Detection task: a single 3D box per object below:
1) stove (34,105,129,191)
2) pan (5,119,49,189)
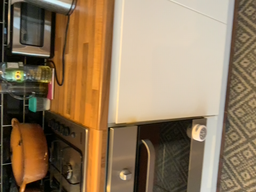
[{"bbox_3d":[-0.260,0.370,1.020,0.540,0.210,0.580,8,97,51],"label":"stove"},{"bbox_3d":[-0.470,0.250,0.980,0.190,0.140,0.250,8,97,51],"label":"pan"}]
